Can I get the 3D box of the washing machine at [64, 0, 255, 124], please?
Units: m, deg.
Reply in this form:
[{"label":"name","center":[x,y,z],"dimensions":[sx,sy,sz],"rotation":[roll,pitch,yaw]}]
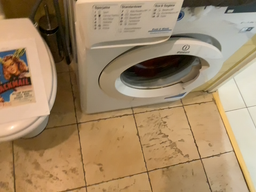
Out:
[{"label":"washing machine","center":[0.050,-0.280,0.920],"dimensions":[0.580,0.830,0.520],"rotation":[-8,70,-15]}]
